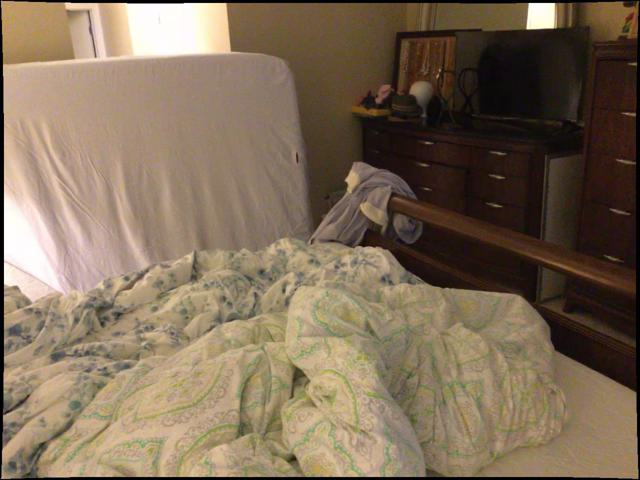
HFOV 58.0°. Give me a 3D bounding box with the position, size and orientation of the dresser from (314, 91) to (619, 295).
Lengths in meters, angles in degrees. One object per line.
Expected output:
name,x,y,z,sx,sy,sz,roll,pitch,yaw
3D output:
dresser,0.888,-0.451,4.020,0.739,0.942,1.878,-21,28,-39

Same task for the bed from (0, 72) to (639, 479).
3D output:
bed,-0.349,0.431,1.460,2.496,1.313,2.039,-14,24,-26

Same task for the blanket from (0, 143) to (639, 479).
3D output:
blanket,-0.359,0.241,1.500,2.117,0.421,1.539,-15,25,-28

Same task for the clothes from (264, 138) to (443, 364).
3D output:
clothes,0.150,0.010,2.610,0.559,0.782,0.540,-15,25,-27

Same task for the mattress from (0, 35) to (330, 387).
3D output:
mattress,-1.057,-0.180,2.920,2.096,1.483,0.560,-10,23,-16
